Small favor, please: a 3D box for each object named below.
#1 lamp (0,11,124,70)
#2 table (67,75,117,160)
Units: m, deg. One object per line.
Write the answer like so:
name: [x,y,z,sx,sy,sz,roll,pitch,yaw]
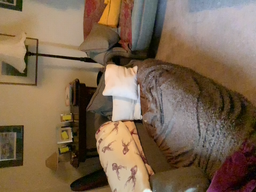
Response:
lamp: [-1.040,-0.780,3.240,0.530,1.900,0.520,-14,76,63]
table: [-0.620,0.340,3.550,0.550,0.670,1.260,-13,77,63]
